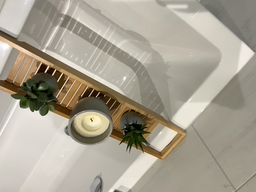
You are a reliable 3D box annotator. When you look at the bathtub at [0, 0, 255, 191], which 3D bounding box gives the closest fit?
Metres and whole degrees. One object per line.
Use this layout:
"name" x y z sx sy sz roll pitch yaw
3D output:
"bathtub" -0.380 0.200 1.040 0.690 0.550 1.680 28 111 -24
